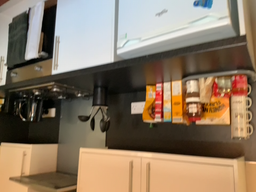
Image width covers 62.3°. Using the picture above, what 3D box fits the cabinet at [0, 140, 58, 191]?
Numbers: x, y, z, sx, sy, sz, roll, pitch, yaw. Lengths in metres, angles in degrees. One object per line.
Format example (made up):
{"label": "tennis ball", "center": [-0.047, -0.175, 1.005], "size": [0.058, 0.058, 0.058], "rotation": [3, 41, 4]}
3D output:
{"label": "cabinet", "center": [-1.010, 0.850, 2.070], "size": [0.520, 0.800, 0.320], "rotation": [-6, 168, 33]}
